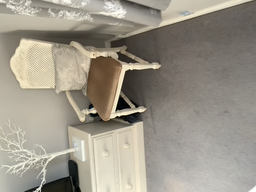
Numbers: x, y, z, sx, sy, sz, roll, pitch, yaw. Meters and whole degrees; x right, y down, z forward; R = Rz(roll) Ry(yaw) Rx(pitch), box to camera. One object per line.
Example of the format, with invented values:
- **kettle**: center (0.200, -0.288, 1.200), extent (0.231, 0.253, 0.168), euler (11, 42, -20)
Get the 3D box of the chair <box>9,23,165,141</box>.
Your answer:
- **chair**: center (-0.360, -0.180, 1.770), extent (0.730, 0.980, 0.530), euler (42, 127, 39)
